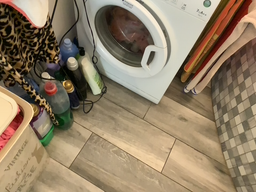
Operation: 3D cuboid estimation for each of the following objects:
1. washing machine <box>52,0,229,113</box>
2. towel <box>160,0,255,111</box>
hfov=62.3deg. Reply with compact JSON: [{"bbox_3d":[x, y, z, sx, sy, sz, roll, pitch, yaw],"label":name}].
[{"bbox_3d":[0.080,-0.480,1.170,0.680,0.840,0.630,29,63,6],"label":"washing machine"},{"bbox_3d":[0.490,-0.310,1.220,0.210,0.890,0.440,30,63,6],"label":"towel"}]
